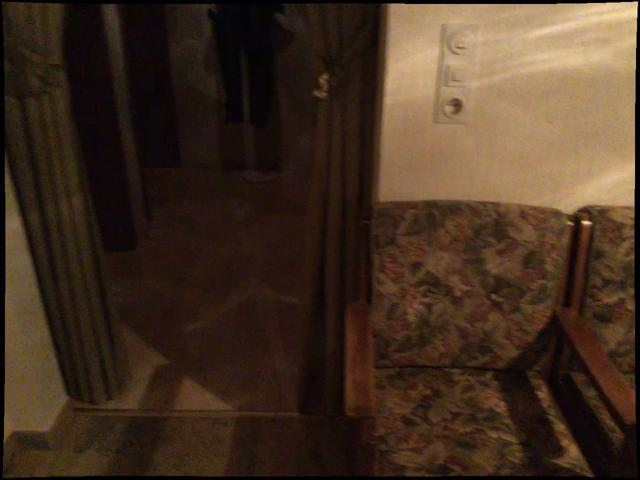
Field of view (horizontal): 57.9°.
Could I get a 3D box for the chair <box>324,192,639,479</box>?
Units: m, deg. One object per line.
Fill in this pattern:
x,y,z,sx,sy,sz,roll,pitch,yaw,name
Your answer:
0.360,0.410,1.380,0.649,0.851,0.630,1,28,-2,chair
